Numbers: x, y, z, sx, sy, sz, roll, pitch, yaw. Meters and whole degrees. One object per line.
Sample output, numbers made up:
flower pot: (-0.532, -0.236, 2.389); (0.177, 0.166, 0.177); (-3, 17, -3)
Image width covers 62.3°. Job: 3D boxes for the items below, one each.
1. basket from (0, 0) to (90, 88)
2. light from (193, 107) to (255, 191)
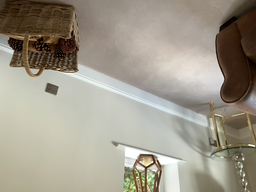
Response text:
basket: (-0.570, -0.340, 1.450); (0.430, 0.260, 0.470); (21, 144, -27)
light: (1.190, 0.830, 2.380); (0.720, 1.200, 0.380); (23, 143, -30)
